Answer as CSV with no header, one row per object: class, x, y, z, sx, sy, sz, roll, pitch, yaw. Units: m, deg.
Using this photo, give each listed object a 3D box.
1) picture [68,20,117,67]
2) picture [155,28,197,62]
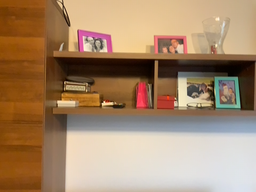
picture,-0.190,-0.280,1.160,0.220,0.190,0.120,-10,-1,-1
picture,0.260,-0.280,1.180,0.200,0.150,0.130,2,-1,1
